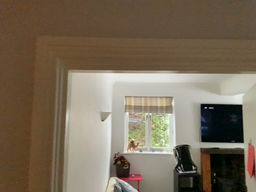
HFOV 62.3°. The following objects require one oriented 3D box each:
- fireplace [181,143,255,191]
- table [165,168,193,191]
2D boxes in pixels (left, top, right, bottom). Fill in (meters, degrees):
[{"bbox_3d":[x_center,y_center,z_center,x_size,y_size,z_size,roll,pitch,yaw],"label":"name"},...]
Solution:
[{"bbox_3d":[1.920,1.640,4.320,1.410,1.170,1.100,1,-6,0],"label":"fireplace"},{"bbox_3d":[0.950,1.810,4.030,0.420,0.760,0.460,1,-6,1],"label":"table"}]
